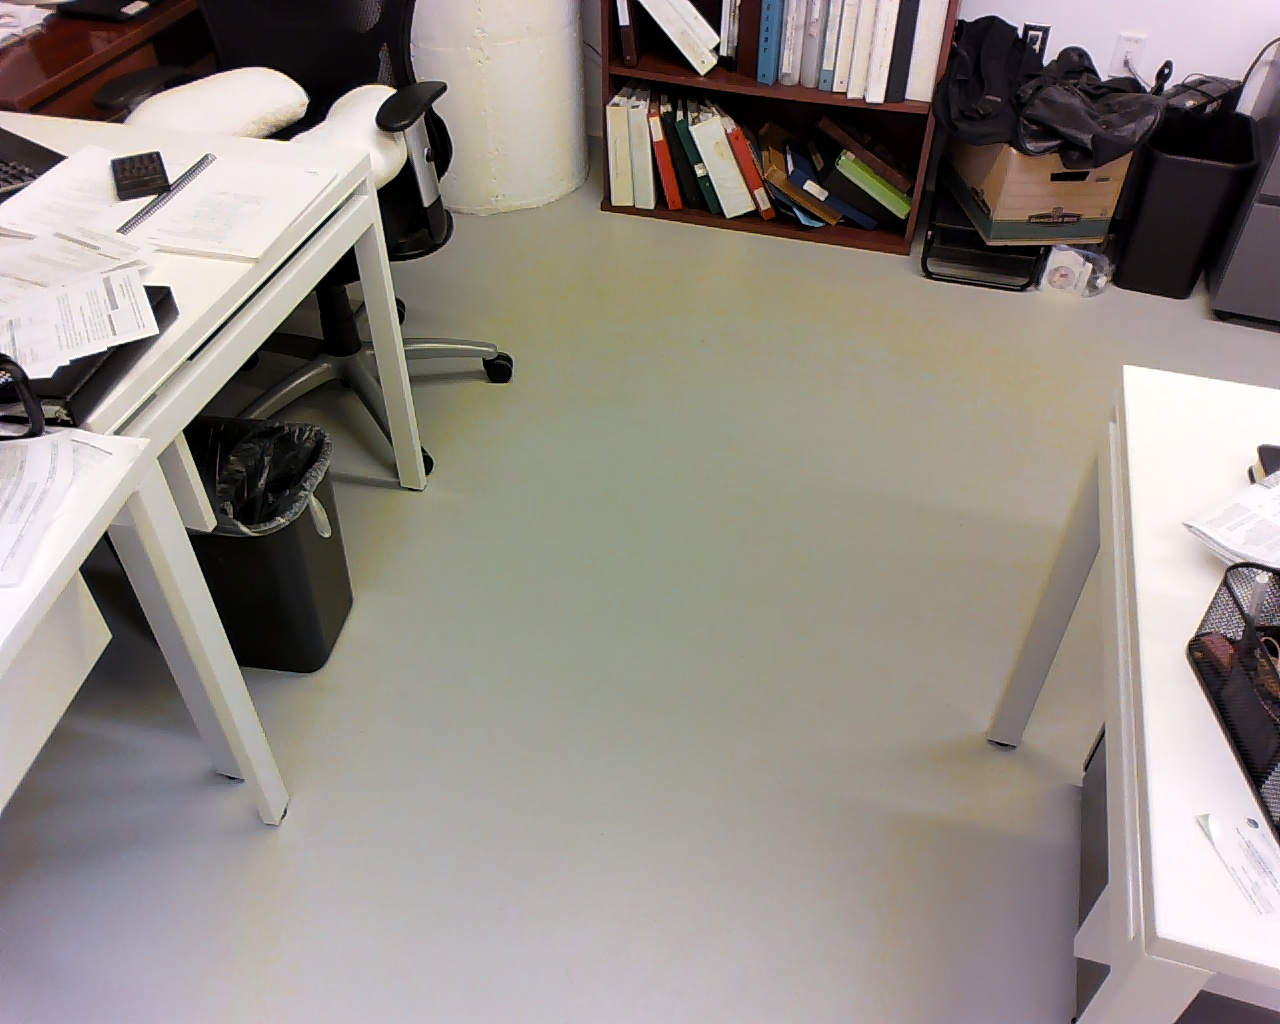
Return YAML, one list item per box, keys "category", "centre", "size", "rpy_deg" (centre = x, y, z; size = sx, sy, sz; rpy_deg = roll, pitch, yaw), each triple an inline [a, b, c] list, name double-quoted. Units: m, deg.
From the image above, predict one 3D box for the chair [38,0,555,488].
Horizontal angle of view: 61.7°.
- category: "chair"
  centre: [-0.600, -0.710, 2.170]
  size: [0.630, 1.100, 0.620]
  rpy_deg: [9, 43, 11]

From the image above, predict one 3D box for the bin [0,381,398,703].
- category: "bin"
  centre: [-0.770, 0.050, 1.860]
  size: [0.570, 0.400, 0.390]
  rpy_deg: [0, 42, 1]

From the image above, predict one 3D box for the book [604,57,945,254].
- category: "book"
  centre: [0.390, -1.050, 3.120]
  size: [0.900, 0.320, 0.420]
  rpy_deg: [9, 43, 11]
